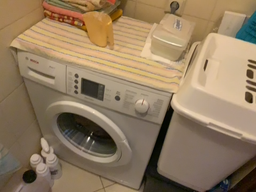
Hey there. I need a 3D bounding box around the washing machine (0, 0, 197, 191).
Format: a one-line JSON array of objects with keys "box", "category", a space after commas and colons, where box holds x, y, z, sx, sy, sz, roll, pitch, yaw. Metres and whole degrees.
[{"box": [-0.110, 0.050, 1.120, 0.600, 0.840, 0.510, 20, 47, 10], "category": "washing machine"}]
